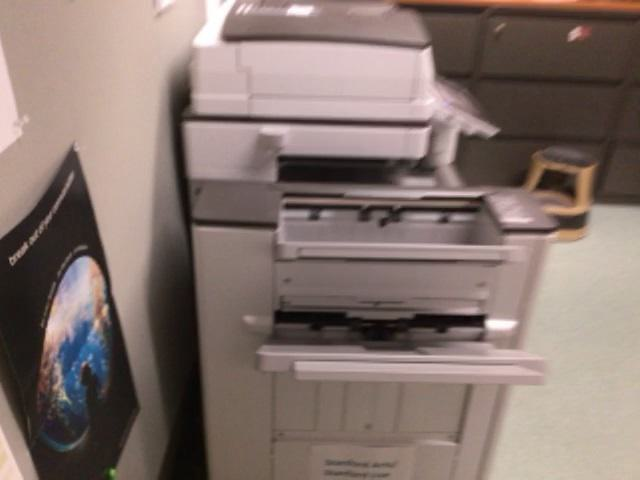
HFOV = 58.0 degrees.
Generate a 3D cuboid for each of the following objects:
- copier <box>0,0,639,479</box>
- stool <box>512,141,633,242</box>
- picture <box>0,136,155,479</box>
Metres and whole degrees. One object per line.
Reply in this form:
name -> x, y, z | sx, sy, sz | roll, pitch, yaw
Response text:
copier -> 0.010, 0.070, 1.490 | 0.860, 1.220, 1.560 | -1, 30, 1
stool -> 1.190, -0.240, 2.780 | 0.380, 0.360, 0.350 | -1, 30, 1
picture -> -0.310, 0.160, 0.750 | 0.030, 0.510, 0.300 | -1, 30, 1
